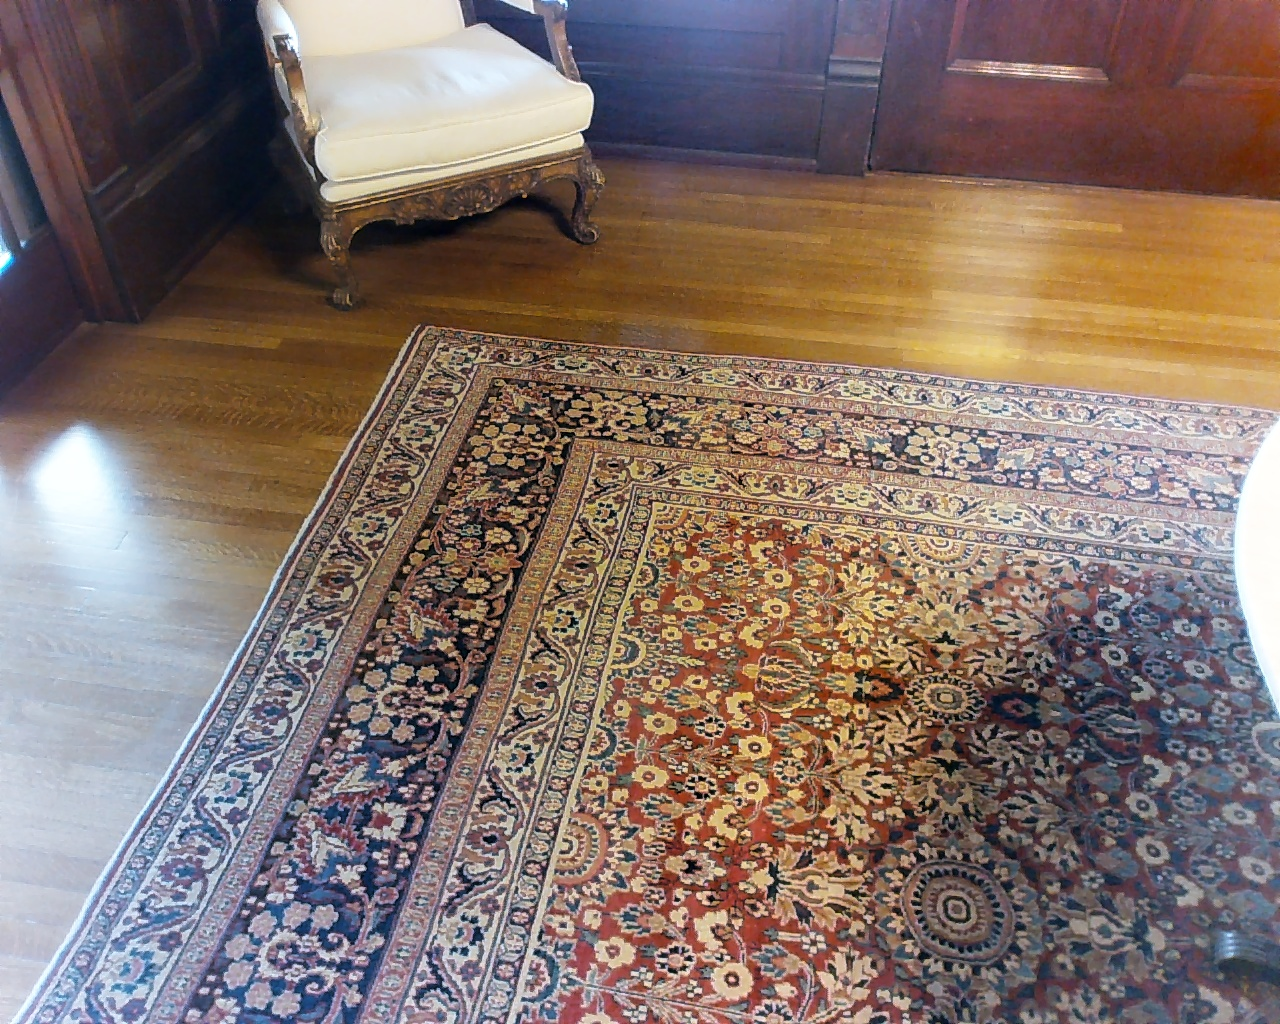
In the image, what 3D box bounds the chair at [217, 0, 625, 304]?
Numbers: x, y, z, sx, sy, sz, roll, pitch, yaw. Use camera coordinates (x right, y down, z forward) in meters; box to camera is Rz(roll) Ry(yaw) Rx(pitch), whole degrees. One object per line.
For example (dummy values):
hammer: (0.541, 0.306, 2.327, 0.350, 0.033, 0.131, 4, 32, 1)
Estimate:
chair: (-0.680, -1.450, 3.140, 0.860, 1.120, 1.070, -21, 46, -22)
